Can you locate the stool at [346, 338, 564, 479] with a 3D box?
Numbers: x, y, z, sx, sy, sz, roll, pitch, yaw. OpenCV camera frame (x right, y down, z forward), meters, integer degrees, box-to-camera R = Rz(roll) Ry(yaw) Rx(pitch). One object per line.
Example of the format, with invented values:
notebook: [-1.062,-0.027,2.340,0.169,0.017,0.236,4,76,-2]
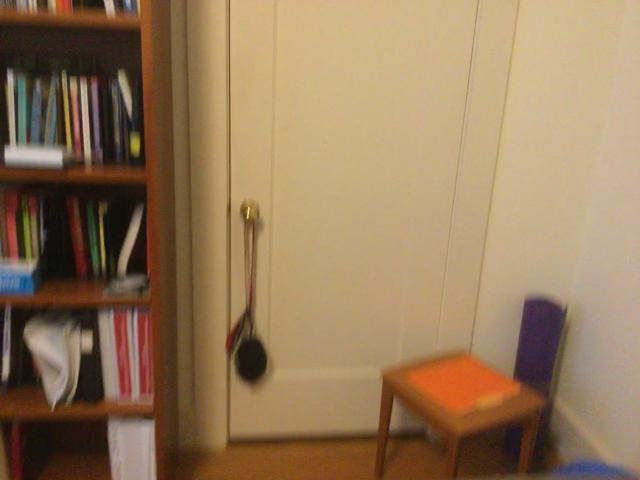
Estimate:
stool: [0.420,0.660,1.870,0.460,0.440,0.450,-11,22,-39]

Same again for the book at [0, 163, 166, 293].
book: [-0.800,-0.040,1.630,0.680,0.300,0.260,1,18,-10]

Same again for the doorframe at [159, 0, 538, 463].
doorframe: [0.070,-0.270,1.780,1.070,2.140,0.100,1,18,-10]

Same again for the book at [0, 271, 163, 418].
book: [-0.820,0.290,1.680,0.670,0.310,0.310,1,18,-10]

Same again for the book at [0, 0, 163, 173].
book: [-0.760,-0.400,1.470,0.670,0.390,0.270,1,18,-10]

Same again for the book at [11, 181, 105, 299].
book: [-0.710,-0.010,1.600,0.150,0.240,0.310,1,18,-10]
